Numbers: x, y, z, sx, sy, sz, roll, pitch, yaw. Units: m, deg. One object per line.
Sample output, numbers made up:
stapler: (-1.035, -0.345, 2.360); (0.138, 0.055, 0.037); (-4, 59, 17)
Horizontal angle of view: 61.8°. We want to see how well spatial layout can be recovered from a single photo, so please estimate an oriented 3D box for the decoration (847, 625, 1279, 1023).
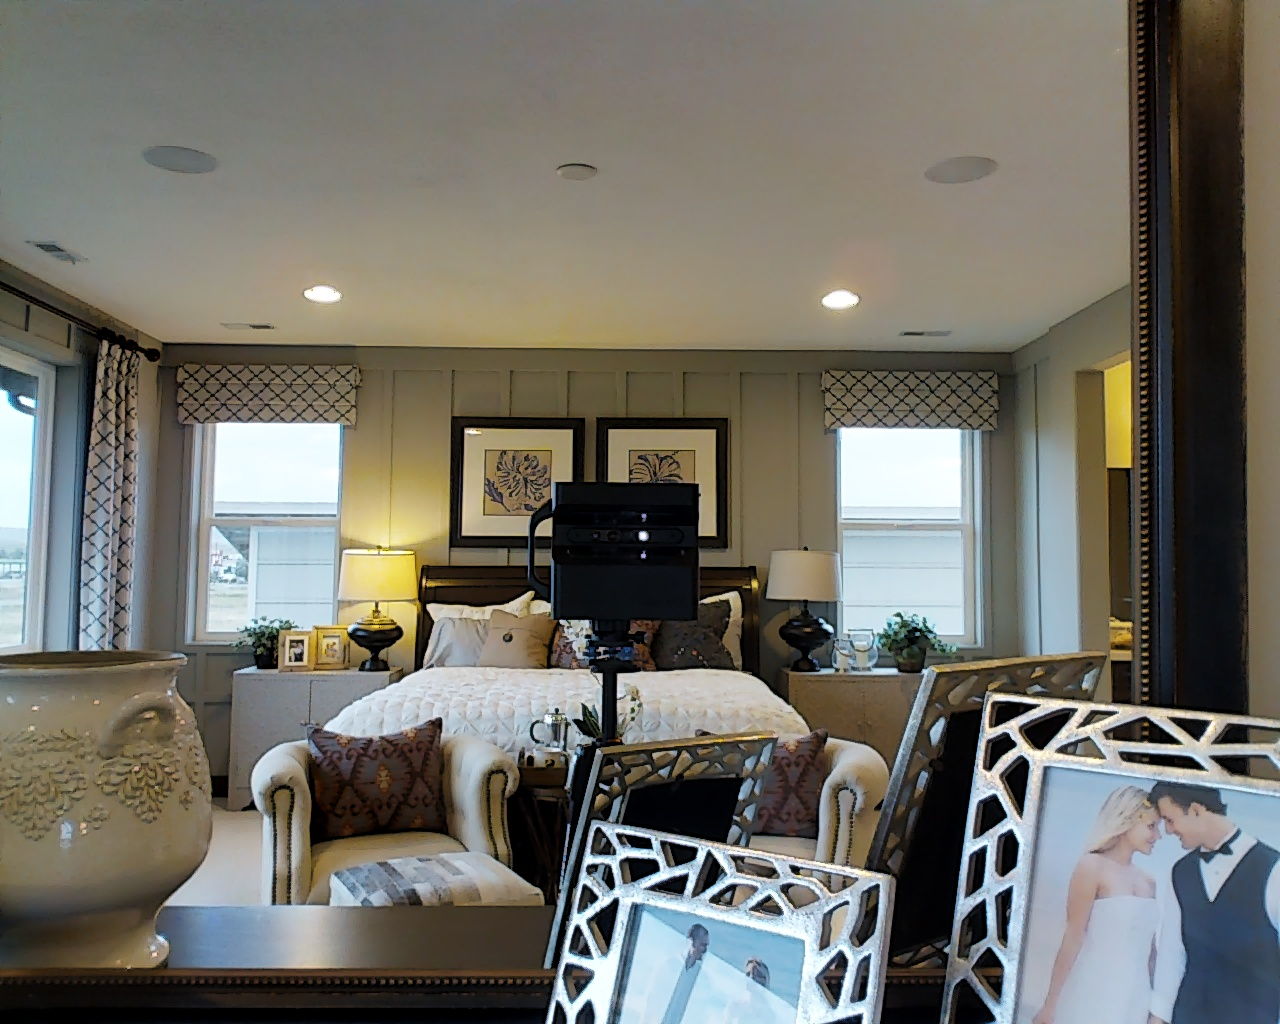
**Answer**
decoration: (0.350, 0.290, 0.690); (0.350, 0.330, 0.110); (18, 0, 39)
